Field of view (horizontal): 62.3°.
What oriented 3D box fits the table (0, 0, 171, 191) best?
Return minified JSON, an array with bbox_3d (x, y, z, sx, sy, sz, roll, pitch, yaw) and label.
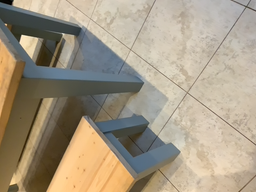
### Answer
[{"bbox_3d":[-0.740,0.370,1.480,0.820,0.790,2.130,43,117,29],"label":"table"}]
